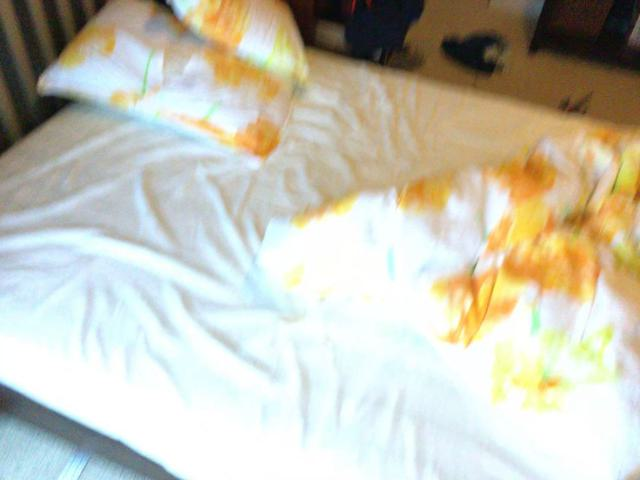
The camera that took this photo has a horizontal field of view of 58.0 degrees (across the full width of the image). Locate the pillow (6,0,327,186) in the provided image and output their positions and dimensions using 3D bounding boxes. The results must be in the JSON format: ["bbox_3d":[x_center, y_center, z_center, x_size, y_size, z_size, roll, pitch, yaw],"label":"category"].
[{"bbox_3d":[-0.390,-0.490,1.630,0.660,0.220,0.530,18,49,14],"label":"pillow"}]
